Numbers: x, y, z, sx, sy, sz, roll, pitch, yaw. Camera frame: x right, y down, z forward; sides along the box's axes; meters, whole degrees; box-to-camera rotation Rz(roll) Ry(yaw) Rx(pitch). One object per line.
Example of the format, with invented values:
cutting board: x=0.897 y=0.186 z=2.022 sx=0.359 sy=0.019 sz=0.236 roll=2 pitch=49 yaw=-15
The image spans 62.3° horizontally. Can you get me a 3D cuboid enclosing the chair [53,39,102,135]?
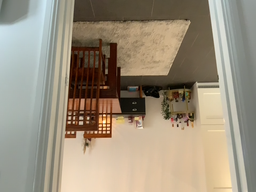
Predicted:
chair: x=-0.610 y=-0.090 z=2.760 sx=0.450 sy=1.130 sz=0.530 roll=-1 pitch=165 yaw=2
